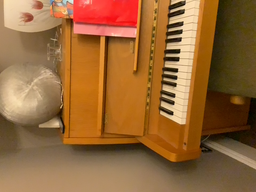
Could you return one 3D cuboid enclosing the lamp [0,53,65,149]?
[{"bbox_3d":[-0.530,0.010,0.820,0.190,0.510,0.340,25,113,59],"label":"lamp"}]
